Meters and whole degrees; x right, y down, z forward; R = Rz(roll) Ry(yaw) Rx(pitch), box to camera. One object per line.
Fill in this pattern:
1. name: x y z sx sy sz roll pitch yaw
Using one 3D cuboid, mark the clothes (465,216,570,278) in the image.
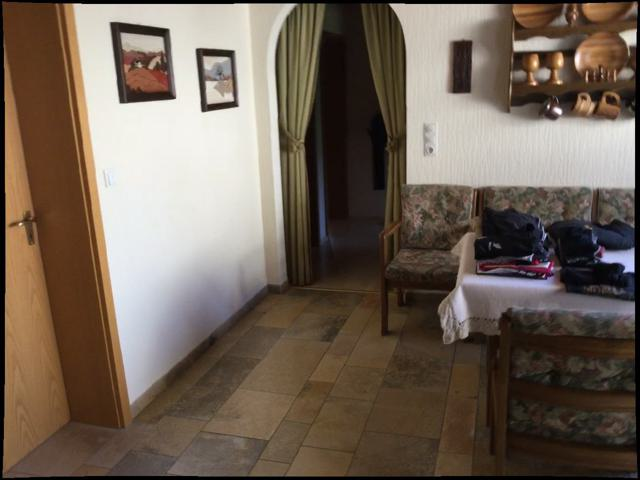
1. clothes: 0.849 0.020 2.510 0.400 0.150 0.340 3 17 18
